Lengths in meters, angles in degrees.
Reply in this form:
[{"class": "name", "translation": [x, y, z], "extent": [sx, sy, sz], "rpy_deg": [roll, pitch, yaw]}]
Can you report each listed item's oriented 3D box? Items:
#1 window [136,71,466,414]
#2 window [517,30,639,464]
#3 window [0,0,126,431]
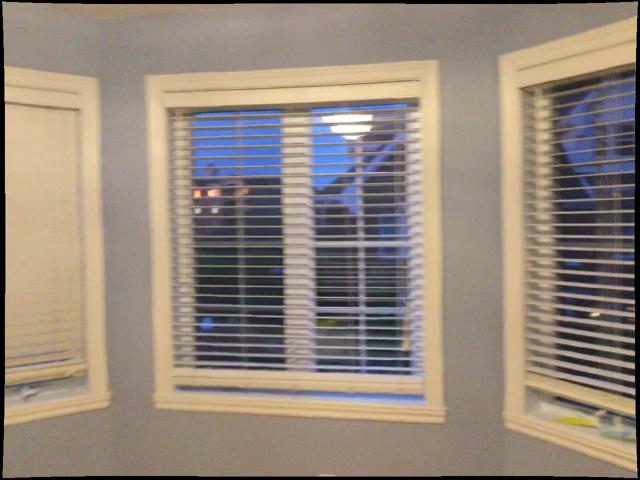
[{"class": "window", "translation": [-0.080, 0.020, 2.500], "extent": [1.359, 1.331, 0.260], "rpy_deg": [-1, 4, 12]}, {"class": "window", "translation": [0.929, 0.020, 1.980], "extent": [0.420, 1.301, 0.490], "rpy_deg": [-1, 4, 12]}, {"class": "window", "translation": [-1.229, -0.100, 2.450], "extent": [0.519, 1.632, 0.510], "rpy_deg": [-1, 4, 12]}]
